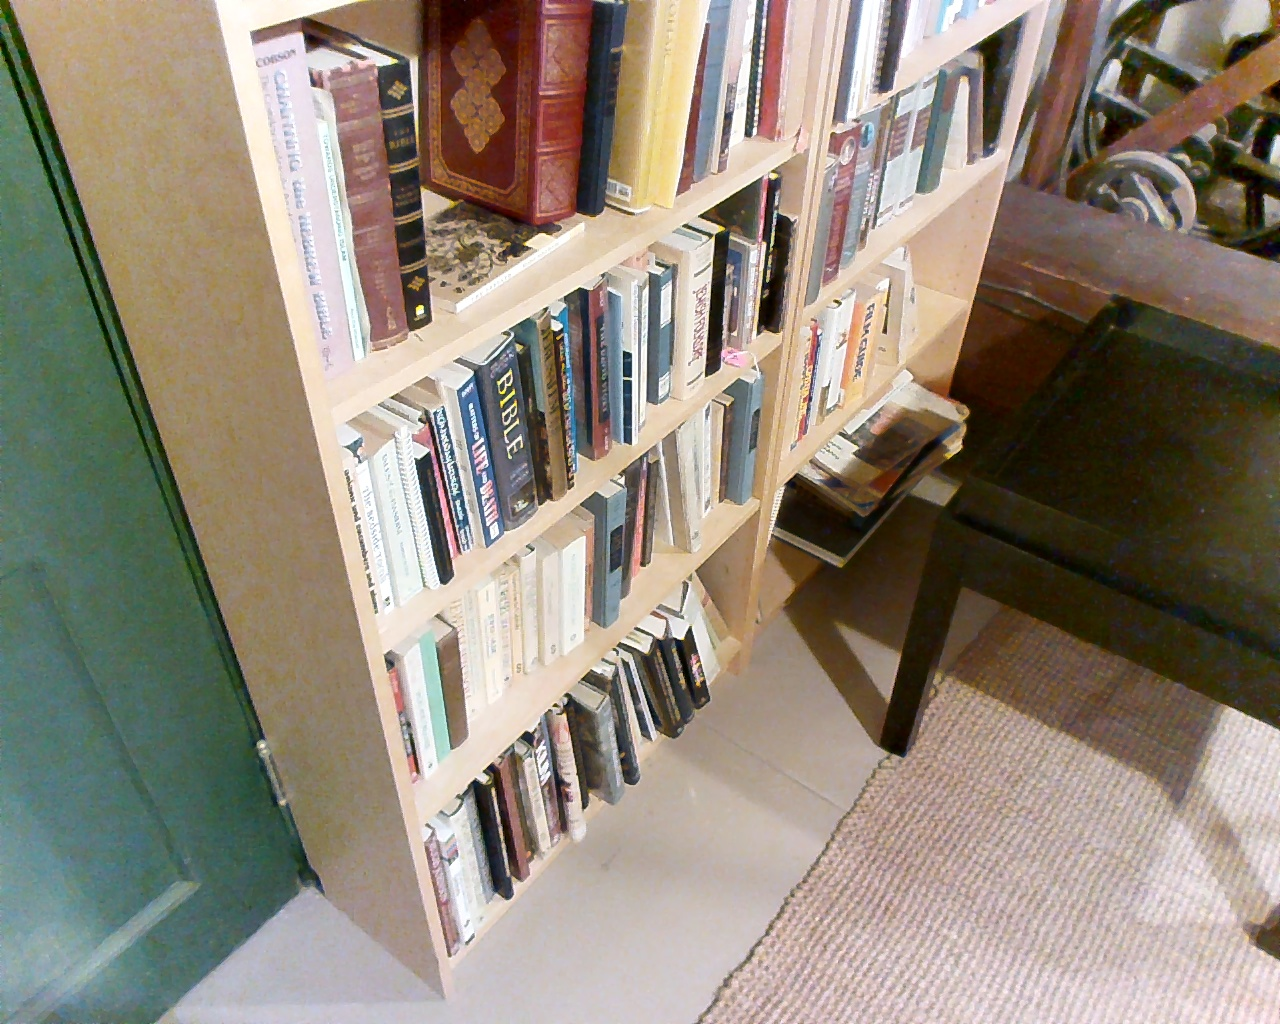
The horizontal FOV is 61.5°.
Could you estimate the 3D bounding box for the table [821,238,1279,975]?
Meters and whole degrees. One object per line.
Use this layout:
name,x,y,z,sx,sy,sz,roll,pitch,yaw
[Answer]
table,0.940,0.100,1.830,0.870,0.610,0.840,28,48,26
